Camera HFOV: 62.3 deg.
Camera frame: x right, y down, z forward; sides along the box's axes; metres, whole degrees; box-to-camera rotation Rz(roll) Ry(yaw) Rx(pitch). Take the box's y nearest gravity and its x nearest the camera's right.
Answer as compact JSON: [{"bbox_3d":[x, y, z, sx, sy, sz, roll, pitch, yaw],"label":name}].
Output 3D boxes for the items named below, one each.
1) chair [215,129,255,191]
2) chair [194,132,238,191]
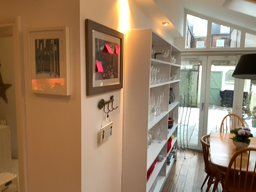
[{"bbox_3d":[1.160,0.900,2.130,0.480,0.960,0.590,4,8,20],"label":"chair"},{"bbox_3d":[1.090,0.920,2.710,0.420,0.770,0.440,3,8,15],"label":"chair"}]
